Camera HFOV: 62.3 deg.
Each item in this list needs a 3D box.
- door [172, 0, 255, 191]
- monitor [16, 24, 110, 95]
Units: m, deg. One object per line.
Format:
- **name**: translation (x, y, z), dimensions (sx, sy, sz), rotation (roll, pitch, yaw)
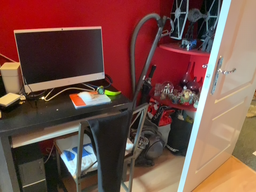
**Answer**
- **door**: translation (0.750, -0.190, 1.420), dimensions (0.810, 2.110, 0.110), rotation (-19, 35, -39)
- **monitor**: translation (-0.410, -0.240, 1.410), dimensions (0.570, 0.400, 0.090), rotation (-8, 29, -36)
